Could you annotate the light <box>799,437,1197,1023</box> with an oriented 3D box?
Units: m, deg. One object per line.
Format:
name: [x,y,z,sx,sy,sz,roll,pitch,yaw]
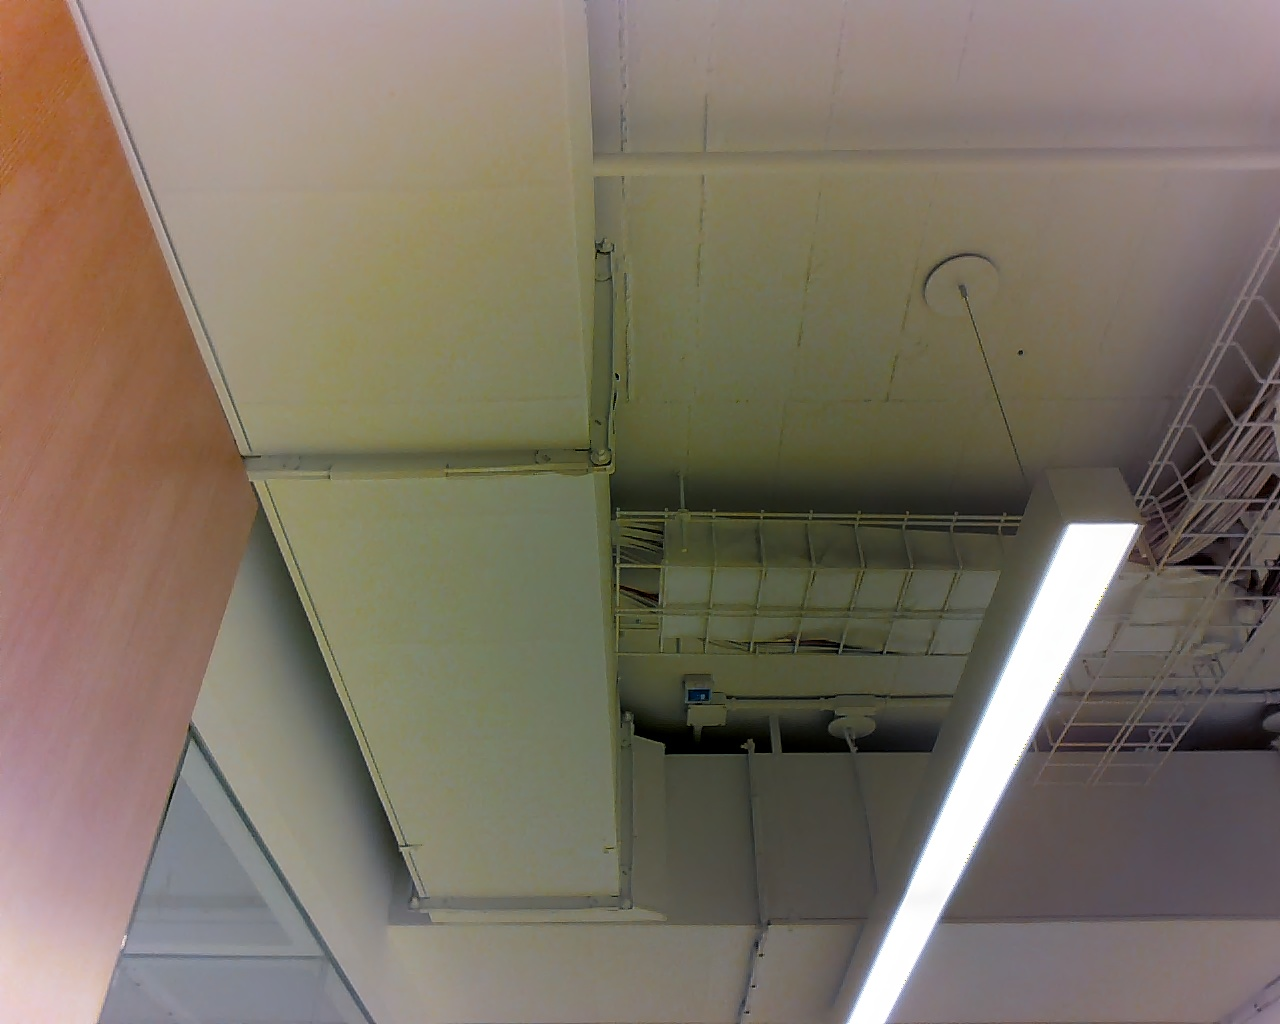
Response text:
light: [0.580,0.801,2.280,0.200,0.180,2.471,0,-42,0]
